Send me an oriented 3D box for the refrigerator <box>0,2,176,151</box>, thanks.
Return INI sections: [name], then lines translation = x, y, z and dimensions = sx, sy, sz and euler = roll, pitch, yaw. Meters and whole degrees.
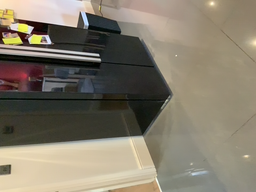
[refrigerator]
translation = -0.680, -0.170, 2.040
dimensions = 0.790, 1.860, 1.020
euler = -62, 37, 41
